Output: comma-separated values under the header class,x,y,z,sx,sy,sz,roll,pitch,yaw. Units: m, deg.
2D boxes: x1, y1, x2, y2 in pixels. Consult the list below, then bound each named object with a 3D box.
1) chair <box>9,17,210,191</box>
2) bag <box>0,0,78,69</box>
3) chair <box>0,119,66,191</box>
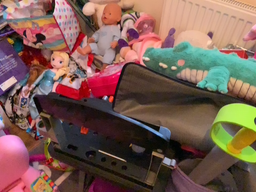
class,x,y,z,sx,sy,sz,roll,pitch,yaw
chair,-0.030,0.170,0.860,0.430,0.760,0.390,17,49,11
bag,-0.480,-0.370,1.150,0.350,0.350,0.270,-2,48,-6
chair,-0.520,0.430,0.840,0.300,0.440,0.420,31,53,22
